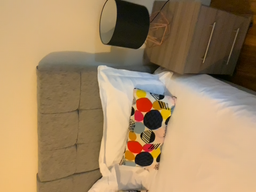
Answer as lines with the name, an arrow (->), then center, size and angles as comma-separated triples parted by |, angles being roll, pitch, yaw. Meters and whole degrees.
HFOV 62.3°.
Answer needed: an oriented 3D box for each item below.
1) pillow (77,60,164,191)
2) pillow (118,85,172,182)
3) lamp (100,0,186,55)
pillow -> -0.010, 0.200, 1.470 | 0.150, 0.540, 0.780 | 29, 131, 46
pillow -> 0.120, 0.260, 1.430 | 0.180, 0.270, 0.590 | 32, 138, 41
lamp -> 0.080, -0.410, 1.280 | 0.290, 0.380, 0.240 | 35, 121, 52
